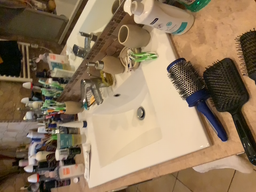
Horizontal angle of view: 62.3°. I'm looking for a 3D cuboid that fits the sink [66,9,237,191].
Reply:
[{"bbox_3d":[-0.020,0.100,0.930,0.770,0.180,0.470,-40,57,45],"label":"sink"}]
